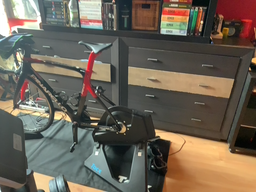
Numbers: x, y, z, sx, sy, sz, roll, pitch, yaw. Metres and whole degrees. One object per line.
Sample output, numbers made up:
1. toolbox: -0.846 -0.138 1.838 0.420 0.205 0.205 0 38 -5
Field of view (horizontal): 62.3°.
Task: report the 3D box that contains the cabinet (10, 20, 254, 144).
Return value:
1. cabinet: -0.060 -0.200 2.200 2.150 0.920 0.400 9 30 13
